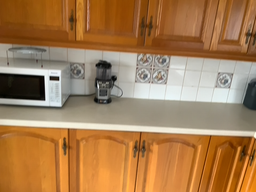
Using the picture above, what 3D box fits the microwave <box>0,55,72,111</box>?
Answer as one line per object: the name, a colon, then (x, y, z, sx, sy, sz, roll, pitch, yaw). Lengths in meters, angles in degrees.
microwave: (-0.740, -0.120, 1.670, 0.500, 0.310, 0.420, 4, 18, -2)
